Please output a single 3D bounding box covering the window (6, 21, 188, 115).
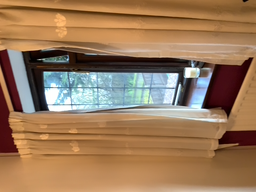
[{"bbox_3d":[-0.190,-0.160,1.540,0.080,1.120,0.680,-100,12,-55],"label":"window"}]
